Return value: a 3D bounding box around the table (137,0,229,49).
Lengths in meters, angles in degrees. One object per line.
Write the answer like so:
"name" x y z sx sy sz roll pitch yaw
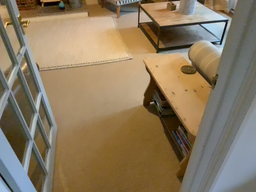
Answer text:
"table" 0.760 -1.190 3.280 1.000 0.390 1.000 -10 40 -11

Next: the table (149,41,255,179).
"table" 0.540 0.030 1.720 0.360 0.510 1.030 -11 41 -13
